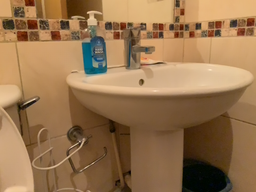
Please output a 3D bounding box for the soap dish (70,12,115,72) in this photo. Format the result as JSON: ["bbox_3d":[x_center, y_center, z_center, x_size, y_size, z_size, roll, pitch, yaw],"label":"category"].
[{"bbox_3d":[-0.120,-0.180,0.720,0.100,0.180,0.110,-12,18,-35],"label":"soap dish"}]

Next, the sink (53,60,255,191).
[{"bbox_3d":[0.120,0.000,0.710,0.580,0.180,0.460,-11,17,-33],"label":"sink"}]
